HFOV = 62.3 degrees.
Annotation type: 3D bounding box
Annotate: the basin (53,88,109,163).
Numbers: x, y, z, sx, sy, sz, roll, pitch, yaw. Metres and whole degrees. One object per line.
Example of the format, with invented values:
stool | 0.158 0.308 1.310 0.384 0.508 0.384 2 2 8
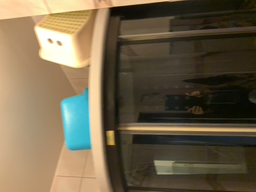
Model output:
basin | -0.190 0.110 0.910 0.190 0.160 0.280 -27 -64 -78
